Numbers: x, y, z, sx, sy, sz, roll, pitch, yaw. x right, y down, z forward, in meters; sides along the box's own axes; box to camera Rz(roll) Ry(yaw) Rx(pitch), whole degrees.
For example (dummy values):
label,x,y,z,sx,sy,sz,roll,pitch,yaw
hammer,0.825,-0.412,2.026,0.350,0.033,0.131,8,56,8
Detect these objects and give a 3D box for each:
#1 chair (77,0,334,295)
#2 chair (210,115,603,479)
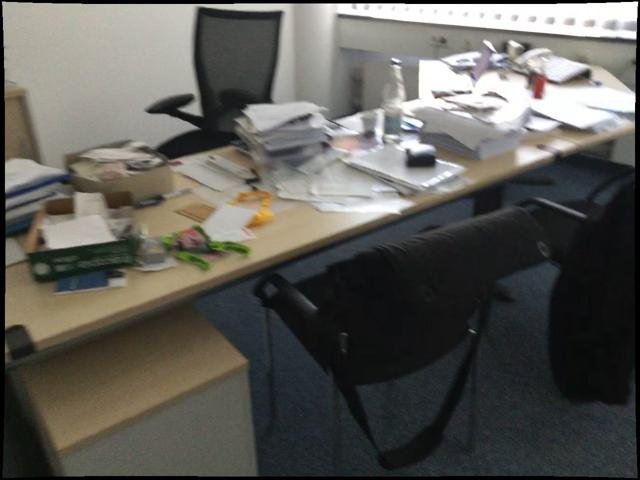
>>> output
label,x,y,z,sx,sy,sz,roll,pitch,yaw
chair,-0.430,-0.480,2.620,0.689,1.091,0.750,13,33,25
chair,0.180,0.210,1.570,0.550,0.831,0.750,-22,35,-31
